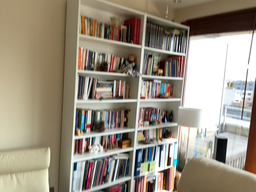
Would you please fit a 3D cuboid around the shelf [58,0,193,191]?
[{"bbox_3d":[0.060,0.190,2.620,1.710,2.420,0.320,-1,8,-40],"label":"shelf"}]
